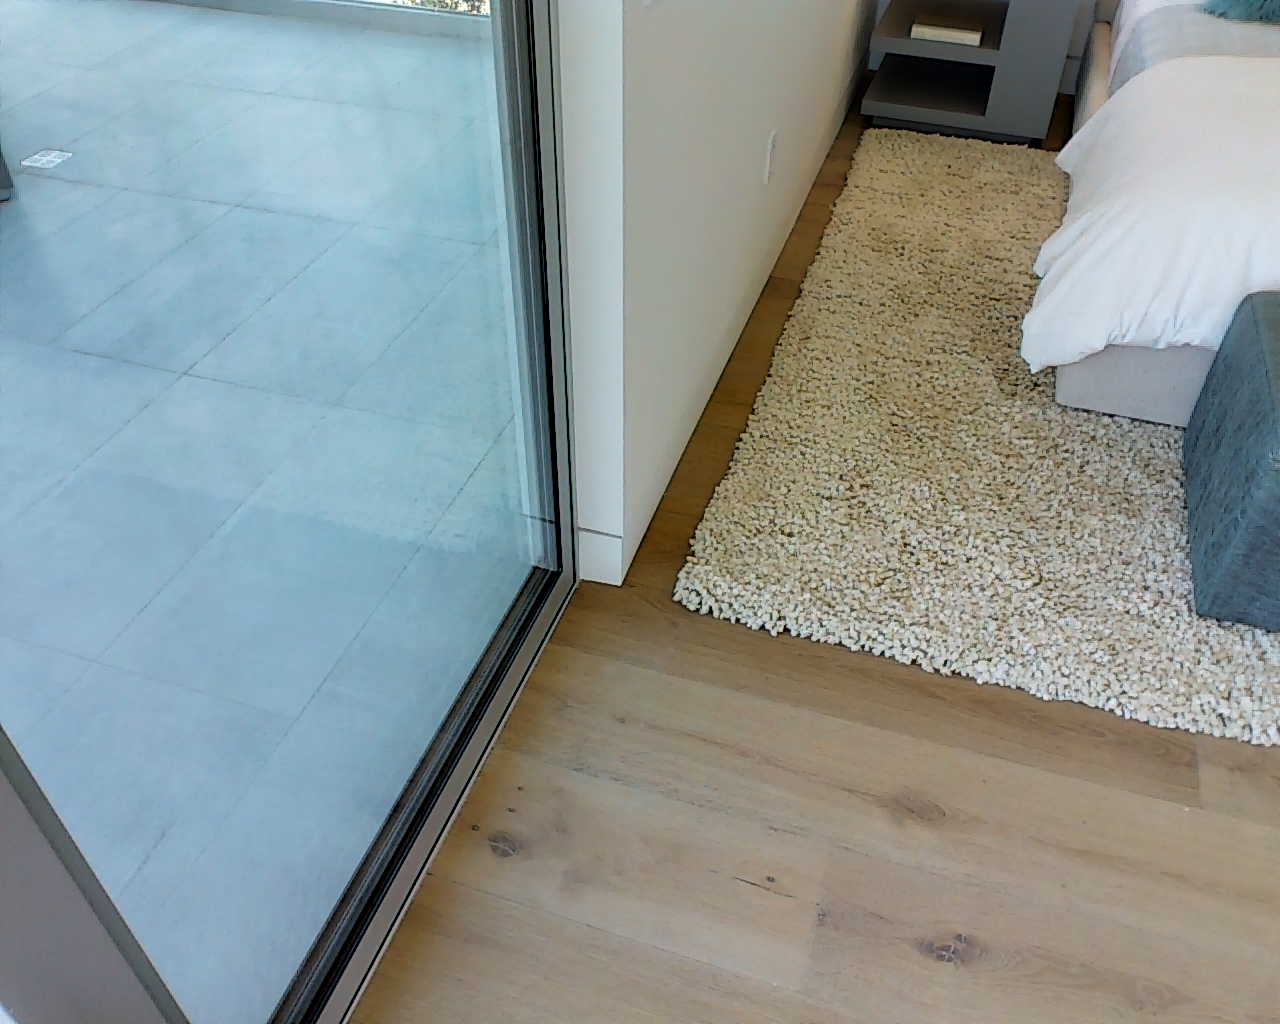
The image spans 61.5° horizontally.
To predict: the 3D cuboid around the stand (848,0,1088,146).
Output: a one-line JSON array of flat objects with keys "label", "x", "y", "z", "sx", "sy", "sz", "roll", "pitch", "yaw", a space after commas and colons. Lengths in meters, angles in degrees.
[{"label": "stand", "x": 1.220, "y": -1.800, "z": 3.950, "sx": 0.720, "sy": 0.570, "sz": 0.650, "roll": 13, "pitch": 43, "yaw": 13}]
